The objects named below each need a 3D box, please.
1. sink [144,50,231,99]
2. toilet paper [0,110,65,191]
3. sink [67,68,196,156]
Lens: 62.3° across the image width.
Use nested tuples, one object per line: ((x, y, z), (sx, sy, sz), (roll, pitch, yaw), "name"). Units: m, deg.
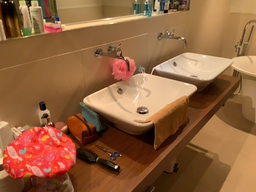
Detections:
((0.470, -0.200, 1.660), (0.460, 0.140, 0.540), (20, 33, 36), "sink")
((-0.460, 0.230, 0.770), (0.330, 0.160, 0.290), (21, 34, 36), "toilet paper")
((0.040, 0.030, 1.200), (0.450, 0.150, 0.570), (20, 33, 36), "sink")
